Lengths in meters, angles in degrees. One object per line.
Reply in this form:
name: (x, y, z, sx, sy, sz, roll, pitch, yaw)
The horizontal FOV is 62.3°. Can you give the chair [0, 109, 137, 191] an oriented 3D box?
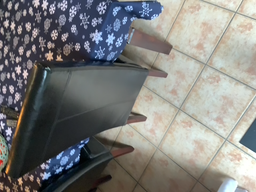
chair: (-0.530, 0.470, 1.510, 0.590, 1.090, 0.430, 36, 110, 28)
